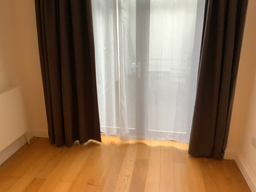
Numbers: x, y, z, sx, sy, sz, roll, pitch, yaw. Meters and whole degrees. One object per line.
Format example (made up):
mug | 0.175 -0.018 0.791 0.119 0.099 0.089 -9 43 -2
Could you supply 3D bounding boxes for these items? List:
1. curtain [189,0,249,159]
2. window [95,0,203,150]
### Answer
curtain | 0.960 -0.430 2.250 0.390 2.430 0.140 3 19 9
window | 0.220 -0.490 2.610 1.200 2.440 0.130 3 19 11
